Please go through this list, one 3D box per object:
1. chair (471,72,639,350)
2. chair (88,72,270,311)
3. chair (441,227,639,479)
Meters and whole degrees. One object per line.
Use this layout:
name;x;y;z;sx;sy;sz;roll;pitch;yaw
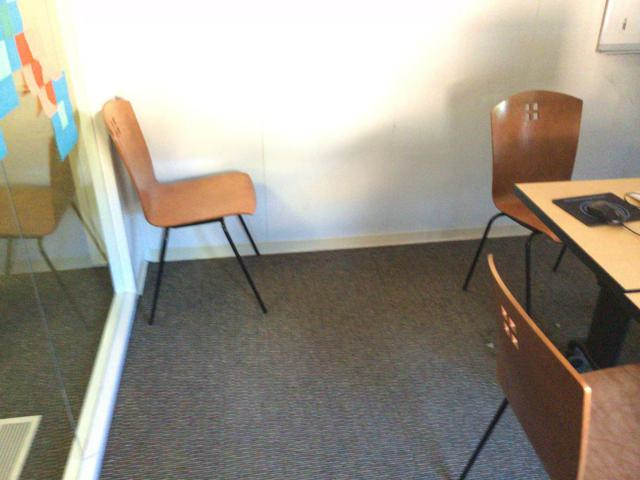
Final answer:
chair;0.950;-0.120;2.140;0.560;0.800;0.550;-8;31;-5
chair;-0.510;-0.200;2.300;0.500;0.760;0.480;-8;31;-5
chair;0.590;0.460;1.210;0.520;0.810;0.480;-8;31;-5
